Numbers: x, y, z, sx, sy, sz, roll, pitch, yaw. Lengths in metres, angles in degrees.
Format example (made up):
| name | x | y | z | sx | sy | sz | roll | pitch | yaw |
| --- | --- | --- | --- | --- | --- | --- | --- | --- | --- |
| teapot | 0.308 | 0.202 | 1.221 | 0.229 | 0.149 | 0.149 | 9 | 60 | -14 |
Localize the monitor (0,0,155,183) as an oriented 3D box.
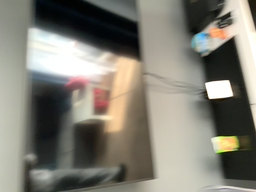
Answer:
| name | x | y | z | sx | sy | sz | roll | pitch | yaw |
| --- | --- | --- | --- | --- | --- | --- | --- | --- | --- |
| monitor | -0.200 | -0.160 | 1.260 | 0.070 | 0.700 | 1.210 | 134 | 143 | -67 |
